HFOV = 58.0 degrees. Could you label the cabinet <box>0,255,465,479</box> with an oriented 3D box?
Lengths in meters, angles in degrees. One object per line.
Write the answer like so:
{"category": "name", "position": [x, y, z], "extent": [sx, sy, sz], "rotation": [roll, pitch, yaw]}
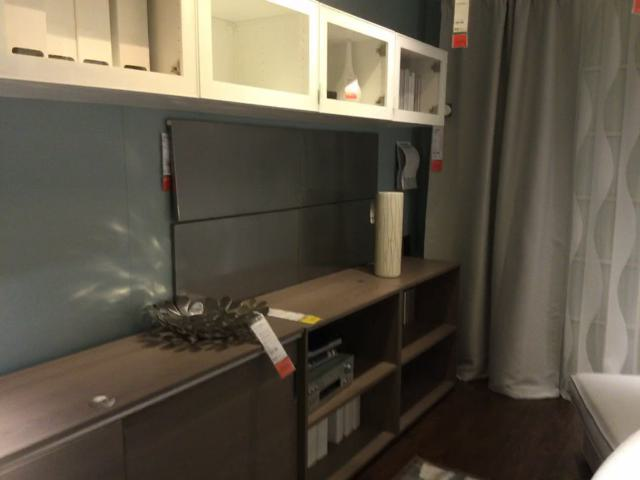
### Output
{"category": "cabinet", "position": [-0.250, 0.700, 2.190], "extent": [0.510, 0.800, 3.060], "rotation": [3, 9, 34]}

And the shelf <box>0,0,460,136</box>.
{"category": "shelf", "position": [-0.300, -0.630, 1.930], "extent": [0.480, 0.490, 2.910], "rotation": [3, 9, 34]}

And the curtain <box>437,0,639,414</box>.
{"category": "curtain", "position": [1.740, -0.320, 2.870], "extent": [2.340, 2.430, 0.260], "rotation": [3, 9, 34]}
